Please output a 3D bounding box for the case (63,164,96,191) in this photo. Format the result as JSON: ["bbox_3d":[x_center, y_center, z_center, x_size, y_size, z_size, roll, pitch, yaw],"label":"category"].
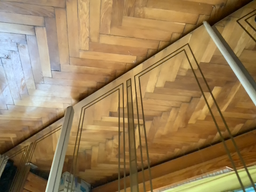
[{"bbox_3d":[-0.450,0.820,1.990,0.130,0.230,0.260,-29,128,22],"label":"case"}]
